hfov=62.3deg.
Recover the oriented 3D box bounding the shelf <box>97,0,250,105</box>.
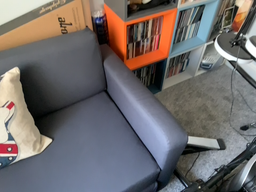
[{"bbox_3d":[0.360,-0.680,1.370,1.090,1.400,0.280,-22,53,-20],"label":"shelf"}]

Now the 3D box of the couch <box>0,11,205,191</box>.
[{"bbox_3d":[-0.550,0.270,0.950,1.390,0.700,0.780,-22,53,-20],"label":"couch"}]
